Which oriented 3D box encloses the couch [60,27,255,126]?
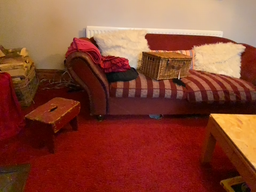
[{"bbox_3d":[0.530,-0.310,2.650,2.400,0.800,1.280,1,23,-7],"label":"couch"}]
